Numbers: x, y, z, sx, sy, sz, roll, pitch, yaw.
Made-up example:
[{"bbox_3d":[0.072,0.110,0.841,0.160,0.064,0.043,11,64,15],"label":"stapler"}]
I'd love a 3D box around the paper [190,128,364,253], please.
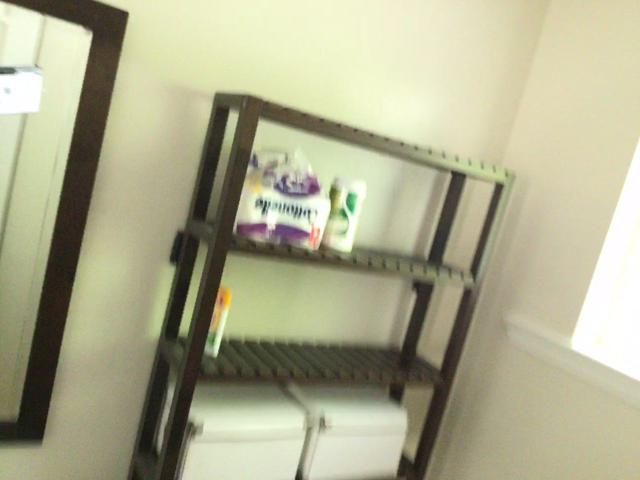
[{"bbox_3d":[-0.090,-0.100,1.160,0.250,0.180,0.200,10,7,-33],"label":"paper"}]
